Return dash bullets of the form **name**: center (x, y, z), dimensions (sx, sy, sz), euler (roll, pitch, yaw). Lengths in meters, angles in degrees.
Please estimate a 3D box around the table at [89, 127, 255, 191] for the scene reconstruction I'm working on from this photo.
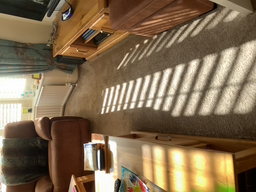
- **table**: center (0.220, 0.540, 1.380), dimensions (1.210, 0.440, 0.610), euler (-10, 82, 55)

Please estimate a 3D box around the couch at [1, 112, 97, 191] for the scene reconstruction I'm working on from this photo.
- **couch**: center (-1.110, 0.830, 2.880), dimensions (1.020, 0.960, 1.150), euler (-9, 83, 55)
